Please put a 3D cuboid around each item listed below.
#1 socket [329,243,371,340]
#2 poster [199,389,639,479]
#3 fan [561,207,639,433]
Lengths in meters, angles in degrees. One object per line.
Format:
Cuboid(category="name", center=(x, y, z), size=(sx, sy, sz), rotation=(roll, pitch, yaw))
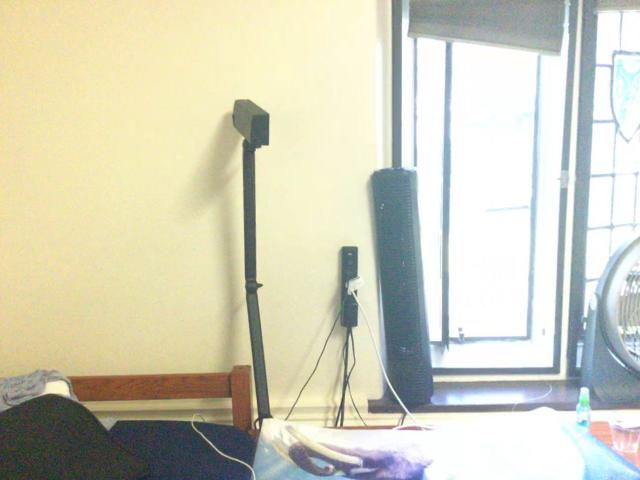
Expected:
Cuboid(category="socket", center=(0.090, 0.150, 1.730), size=(0.110, 0.260, 0.150), rotation=(-2, 8, 3))
Cuboid(category="poster", center=(0.240, 0.570, 1.320), size=(1.000, 0.150, 0.720), rotation=(-2, 8, 3))
Cuboid(category="fan", center=(1.110, 0.230, 1.800), size=(0.610, 0.650, 0.240), rotation=(-2, 8, 3))
